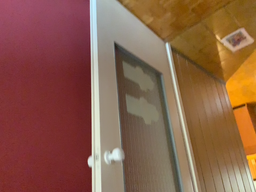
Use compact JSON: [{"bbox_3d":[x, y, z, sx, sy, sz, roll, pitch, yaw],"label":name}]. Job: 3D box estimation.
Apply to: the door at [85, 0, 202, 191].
[{"bbox_3d":[0.140,0.260,1.250,0.080,1.960,0.900,-24,149,36],"label":"door"}]
